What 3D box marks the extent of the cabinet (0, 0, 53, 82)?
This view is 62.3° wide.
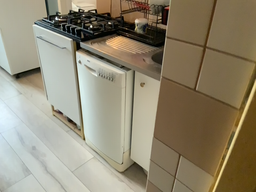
[{"bbox_3d":[-1.440,-0.740,2.710,0.630,0.800,0.580,27,39,33],"label":"cabinet"}]
